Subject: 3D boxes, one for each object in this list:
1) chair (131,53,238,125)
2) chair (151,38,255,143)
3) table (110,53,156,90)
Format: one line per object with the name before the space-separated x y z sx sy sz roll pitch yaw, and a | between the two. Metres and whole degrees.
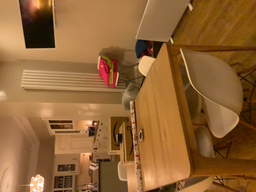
chair | 0.480 -0.040 2.000 0.420 0.780 0.510 113 156 -58
chair | 0.620 0.010 1.330 0.510 0.780 0.410 113 156 -57
table | 0.070 -0.450 3.980 0.440 0.730 0.480 113 156 -59
